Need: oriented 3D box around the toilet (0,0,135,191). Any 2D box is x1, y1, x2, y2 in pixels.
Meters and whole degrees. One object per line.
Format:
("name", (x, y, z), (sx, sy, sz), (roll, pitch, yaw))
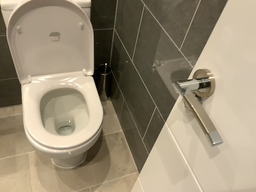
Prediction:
("toilet", (-0.330, -0.010, 1.050), (0.400, 0.830, 0.610), (-9, 52, -19))
